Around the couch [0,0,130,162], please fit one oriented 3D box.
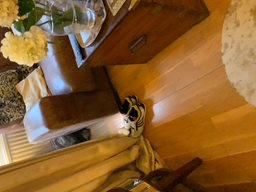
[{"bbox_3d":[-0.810,-0.420,1.840,0.910,0.740,1.610,-35,73,46],"label":"couch"}]
